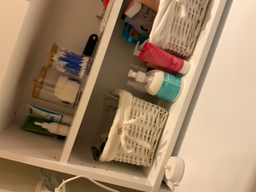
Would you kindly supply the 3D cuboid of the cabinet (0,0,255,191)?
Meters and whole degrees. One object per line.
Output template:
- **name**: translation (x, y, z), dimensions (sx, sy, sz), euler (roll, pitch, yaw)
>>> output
- **cabinet**: translation (0.050, -0.100, 0.610), dimensions (0.270, 1.870, 0.670), euler (-153, 82, -75)
